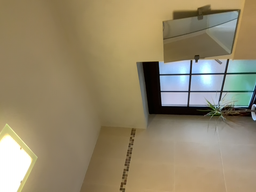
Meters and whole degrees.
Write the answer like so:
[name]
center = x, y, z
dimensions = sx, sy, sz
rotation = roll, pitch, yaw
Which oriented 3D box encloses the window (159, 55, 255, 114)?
[window]
center = 0.780, -0.090, 2.030
dimensions = 0.040, 0.940, 0.640
rotation = -74, -19, -48
